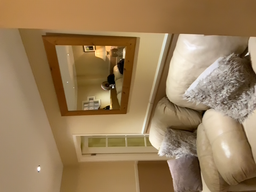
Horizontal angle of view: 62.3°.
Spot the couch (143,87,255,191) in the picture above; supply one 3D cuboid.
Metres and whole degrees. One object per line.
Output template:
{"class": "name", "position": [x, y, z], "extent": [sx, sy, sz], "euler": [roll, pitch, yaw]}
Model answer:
{"class": "couch", "position": [0.790, 0.650, 2.400], "extent": [1.060, 0.980, 1.060], "euler": [98, 170, -50]}

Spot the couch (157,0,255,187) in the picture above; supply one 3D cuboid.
{"class": "couch", "position": [0.880, -0.050, 1.580], "extent": [1.100, 0.990, 1.040], "euler": [98, 170, -50]}
